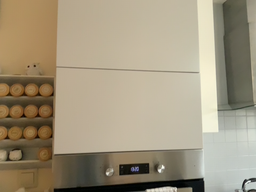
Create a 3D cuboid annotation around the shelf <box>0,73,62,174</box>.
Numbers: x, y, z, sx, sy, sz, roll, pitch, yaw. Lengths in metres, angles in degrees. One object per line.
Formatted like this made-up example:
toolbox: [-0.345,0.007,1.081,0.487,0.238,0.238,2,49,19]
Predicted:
shelf: [-0.480,0.110,0.890,0.370,0.400,0.080,1,-5,-13]
